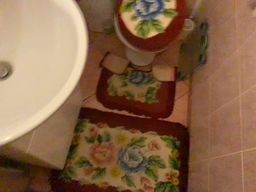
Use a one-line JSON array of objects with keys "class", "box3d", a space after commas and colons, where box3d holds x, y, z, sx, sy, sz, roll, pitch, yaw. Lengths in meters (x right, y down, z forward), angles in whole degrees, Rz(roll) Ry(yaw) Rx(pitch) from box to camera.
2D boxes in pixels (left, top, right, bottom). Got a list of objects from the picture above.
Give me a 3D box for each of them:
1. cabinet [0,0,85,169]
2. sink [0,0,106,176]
[{"class": "cabinet", "box3d": [-0.420, 0.020, 0.880, 0.310, 0.720, 0.450, 12, 67, -2]}, {"class": "sink", "box3d": [-0.320, -0.110, 0.520, 0.430, 0.150, 0.500, 12, 67, -2]}]
